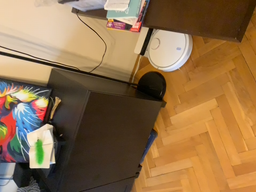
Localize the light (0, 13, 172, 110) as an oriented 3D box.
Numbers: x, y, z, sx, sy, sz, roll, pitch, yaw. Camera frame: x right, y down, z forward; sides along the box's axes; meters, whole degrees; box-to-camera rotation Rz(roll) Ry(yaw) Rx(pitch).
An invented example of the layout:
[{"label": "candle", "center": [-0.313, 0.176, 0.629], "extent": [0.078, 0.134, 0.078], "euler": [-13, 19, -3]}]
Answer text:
[{"label": "light", "center": [-0.410, -0.170, 1.050], "extent": [0.330, 1.780, 0.290], "euler": [26, 101, 40]}]
